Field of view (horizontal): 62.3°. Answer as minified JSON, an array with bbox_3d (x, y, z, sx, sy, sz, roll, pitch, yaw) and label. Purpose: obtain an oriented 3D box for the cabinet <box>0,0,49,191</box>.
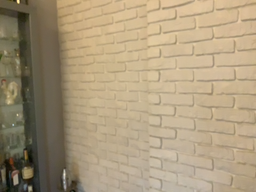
[{"bbox_3d":[-0.860,0.170,1.580,0.200,1.700,0.400,2,7,34],"label":"cabinet"}]
